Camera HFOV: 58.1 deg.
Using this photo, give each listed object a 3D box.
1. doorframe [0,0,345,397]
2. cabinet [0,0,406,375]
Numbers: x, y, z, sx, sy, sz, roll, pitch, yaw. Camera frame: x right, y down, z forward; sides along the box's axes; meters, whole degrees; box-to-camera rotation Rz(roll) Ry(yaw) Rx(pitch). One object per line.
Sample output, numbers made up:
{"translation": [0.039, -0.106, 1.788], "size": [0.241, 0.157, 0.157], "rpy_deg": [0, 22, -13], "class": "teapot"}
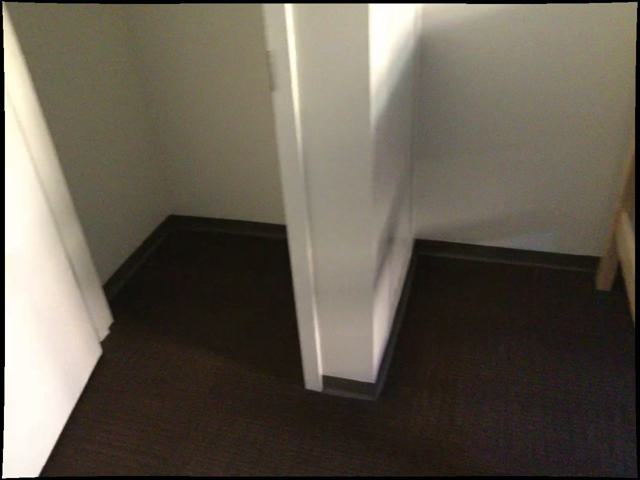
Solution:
{"translation": [-0.469, -0.471, 1.380], "size": [0.918, 2.003, 0.250], "rpy_deg": [5, 35, 16], "class": "doorframe"}
{"translation": [-0.339, -0.712, 1.620], "size": [1.048, 2.114, 0.740], "rpy_deg": [5, 35, 16], "class": "cabinet"}
